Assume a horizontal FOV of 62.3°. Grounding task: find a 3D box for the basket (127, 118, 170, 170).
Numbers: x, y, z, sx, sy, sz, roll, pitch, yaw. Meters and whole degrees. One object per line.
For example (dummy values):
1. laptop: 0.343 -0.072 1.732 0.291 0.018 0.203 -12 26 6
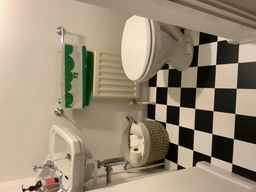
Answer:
1. basket: 0.170 0.380 1.780 0.250 0.250 0.360 1 90 58
